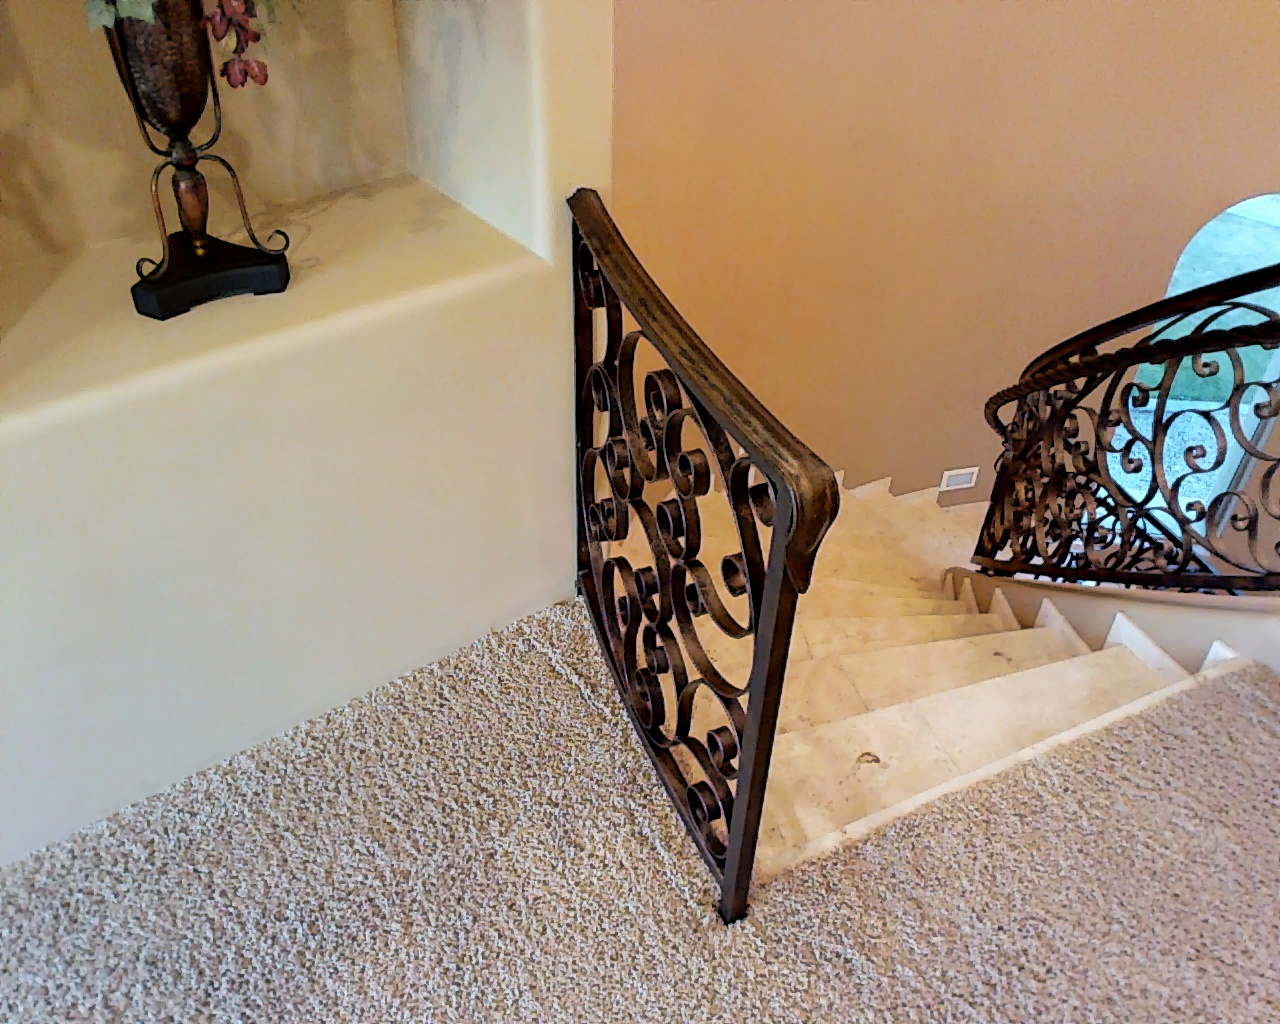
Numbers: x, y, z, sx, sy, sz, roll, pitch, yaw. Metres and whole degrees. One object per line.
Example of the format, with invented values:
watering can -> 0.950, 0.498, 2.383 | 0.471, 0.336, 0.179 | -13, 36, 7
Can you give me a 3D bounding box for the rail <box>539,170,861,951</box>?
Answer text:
rail -> 0.030, 0.070, 1.710 | 0.110, 0.940, 0.830 | -13, 41, -16
